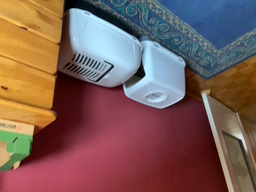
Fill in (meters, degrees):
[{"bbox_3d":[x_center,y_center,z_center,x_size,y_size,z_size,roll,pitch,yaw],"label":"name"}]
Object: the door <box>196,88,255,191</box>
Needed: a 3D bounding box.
[{"bbox_3d":[1.160,0.920,2.080,0.900,1.960,0.080,23,141,-39],"label":"door"}]
